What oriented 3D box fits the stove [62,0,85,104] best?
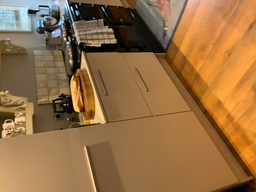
[{"bbox_3d":[-0.650,-0.530,2.420,0.770,0.050,0.980,108,147,-45],"label":"stove"}]
